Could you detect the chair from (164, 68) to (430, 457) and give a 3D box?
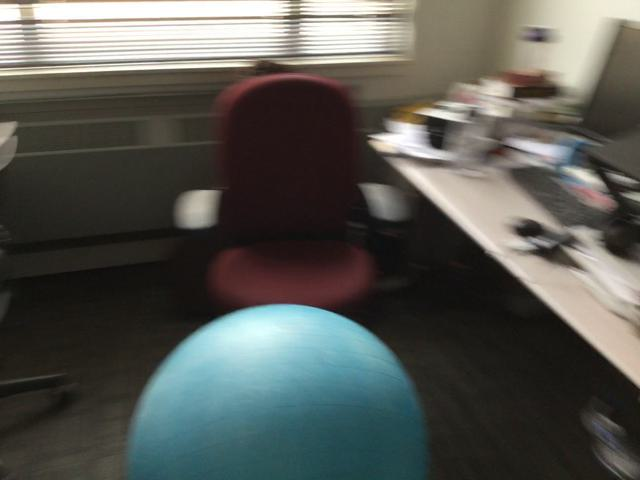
[{"bbox_3d":[-0.090,0.040,1.840,0.620,1.050,0.620,-1,24,-6],"label":"chair"}]

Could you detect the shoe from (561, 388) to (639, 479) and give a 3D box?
[{"bbox_3d":[0.950,0.610,1.750,0.260,0.110,0.310,-5,25,-14],"label":"shoe"}]
